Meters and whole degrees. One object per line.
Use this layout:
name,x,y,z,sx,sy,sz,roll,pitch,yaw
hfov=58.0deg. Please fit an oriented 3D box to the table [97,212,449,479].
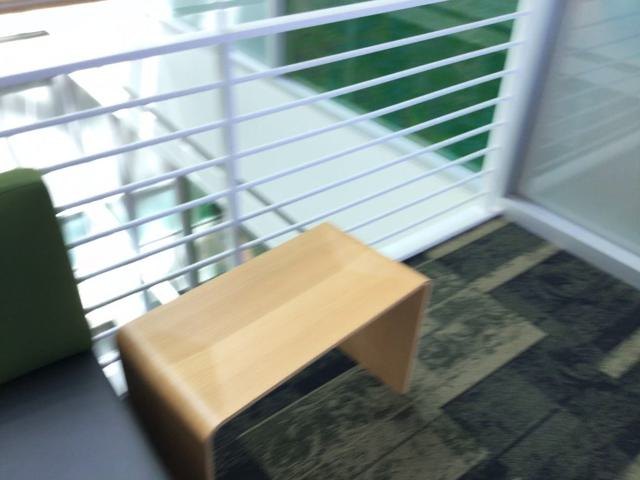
table,-0.080,0.320,1.430,0.690,0.470,0.410,-25,37,-33
